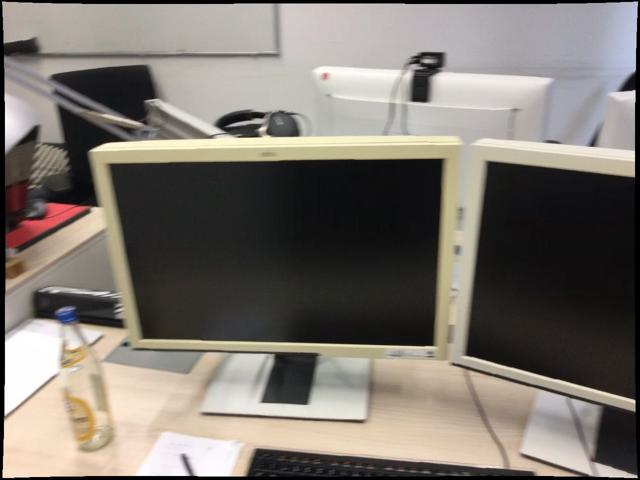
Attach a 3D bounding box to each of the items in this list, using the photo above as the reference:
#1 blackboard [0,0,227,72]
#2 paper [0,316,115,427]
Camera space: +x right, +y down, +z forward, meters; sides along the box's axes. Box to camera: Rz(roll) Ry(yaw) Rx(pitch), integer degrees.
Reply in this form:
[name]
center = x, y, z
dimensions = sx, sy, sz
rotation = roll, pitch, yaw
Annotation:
[blackboard]
center = -1.239, -1.361, 2.710
dimensions = 1.519, 1.081, 0.130
rotation = 2, 26, 12
[paper]
center = -0.619, 0.260, 1.210
dimensions = 0.240, 0.020, 0.310
rotation = 2, 26, 12
